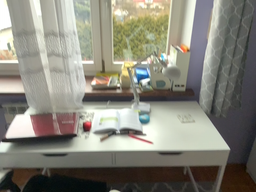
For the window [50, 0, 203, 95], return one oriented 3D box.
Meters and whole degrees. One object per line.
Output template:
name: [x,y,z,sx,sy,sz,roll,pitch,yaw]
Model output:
window: [-0.010,-0.800,1.670,1.120,1.560,0.320,-2,27,-6]
